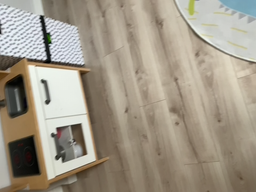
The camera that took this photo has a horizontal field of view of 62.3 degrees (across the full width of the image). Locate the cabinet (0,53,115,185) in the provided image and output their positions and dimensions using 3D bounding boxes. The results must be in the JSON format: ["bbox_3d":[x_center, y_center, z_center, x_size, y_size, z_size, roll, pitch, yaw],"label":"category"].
[{"bbox_3d":[-0.500,0.150,1.430,0.460,0.510,0.680,-19,81,33],"label":"cabinet"}]

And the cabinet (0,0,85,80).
[{"bbox_3d":[-0.700,-0.370,1.470,0.380,0.640,0.390,-19,81,33],"label":"cabinet"}]
